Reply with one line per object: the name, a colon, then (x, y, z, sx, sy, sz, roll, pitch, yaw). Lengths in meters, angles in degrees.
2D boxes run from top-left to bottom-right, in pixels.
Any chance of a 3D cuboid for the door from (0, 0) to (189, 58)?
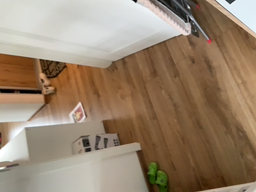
door: (-0.600, -0.450, 0.940, 0.870, 1.940, 0.110, -7, 85, 43)
